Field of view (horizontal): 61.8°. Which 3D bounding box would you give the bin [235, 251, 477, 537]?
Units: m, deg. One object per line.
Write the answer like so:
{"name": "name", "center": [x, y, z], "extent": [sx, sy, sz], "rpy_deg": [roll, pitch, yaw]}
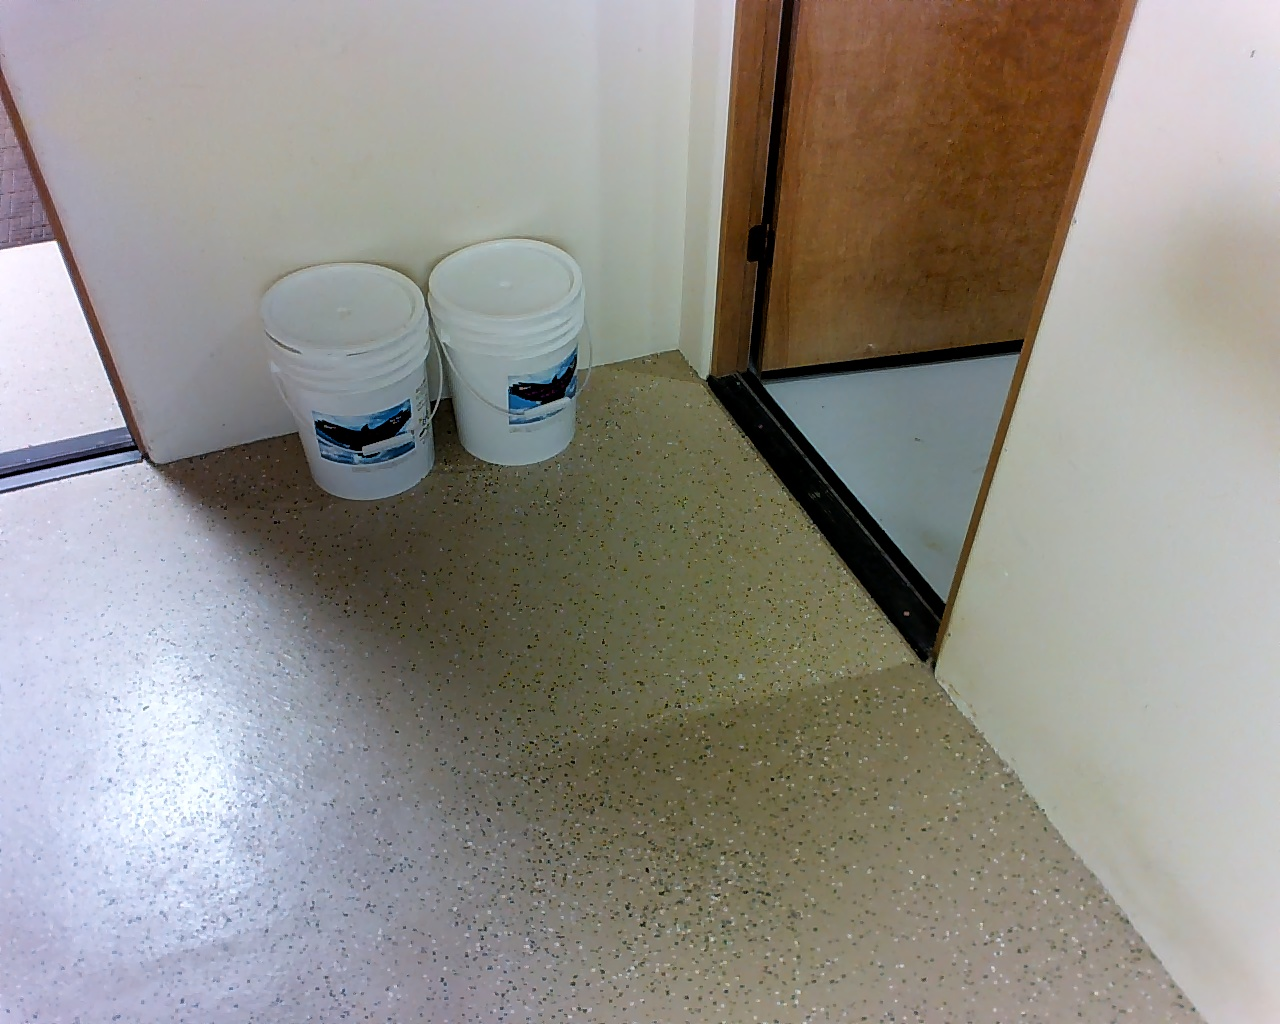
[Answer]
{"name": "bin", "center": [-0.560, -0.240, 2.140], "extent": [0.350, 0.390, 0.320], "rpy_deg": [-16, 44, -17]}

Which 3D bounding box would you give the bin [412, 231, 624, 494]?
{"name": "bin", "center": [-0.250, -0.320, 2.250], "extent": [0.330, 0.370, 0.330], "rpy_deg": [-16, 44, -17]}
